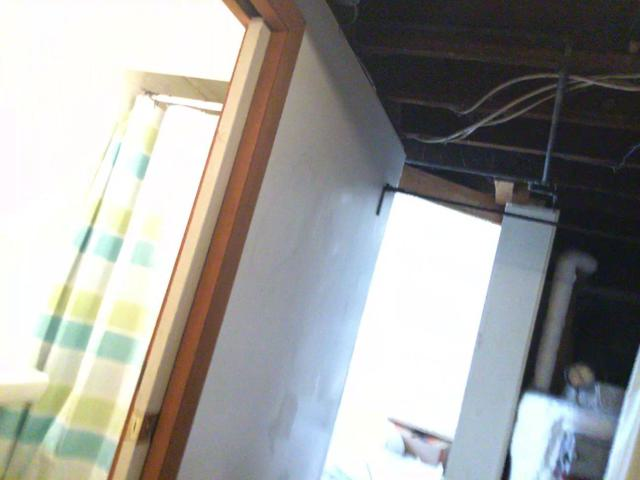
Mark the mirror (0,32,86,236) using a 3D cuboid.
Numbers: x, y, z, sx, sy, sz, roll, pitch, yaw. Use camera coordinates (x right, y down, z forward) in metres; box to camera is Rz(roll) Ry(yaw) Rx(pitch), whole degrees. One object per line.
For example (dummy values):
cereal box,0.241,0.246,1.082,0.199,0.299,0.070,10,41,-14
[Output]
mirror,-1.180,-0.380,2.050,0.210,0.600,0.510,12,-10,20
